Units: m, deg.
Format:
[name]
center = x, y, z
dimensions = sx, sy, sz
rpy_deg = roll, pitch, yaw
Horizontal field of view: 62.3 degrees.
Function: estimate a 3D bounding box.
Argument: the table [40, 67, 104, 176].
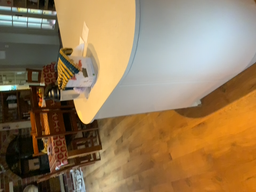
[table]
center = -1.170, 0.470, 4.120
dimensions = 1.020, 0.750, 1.780
rpy_deg = -49, 52, 53
